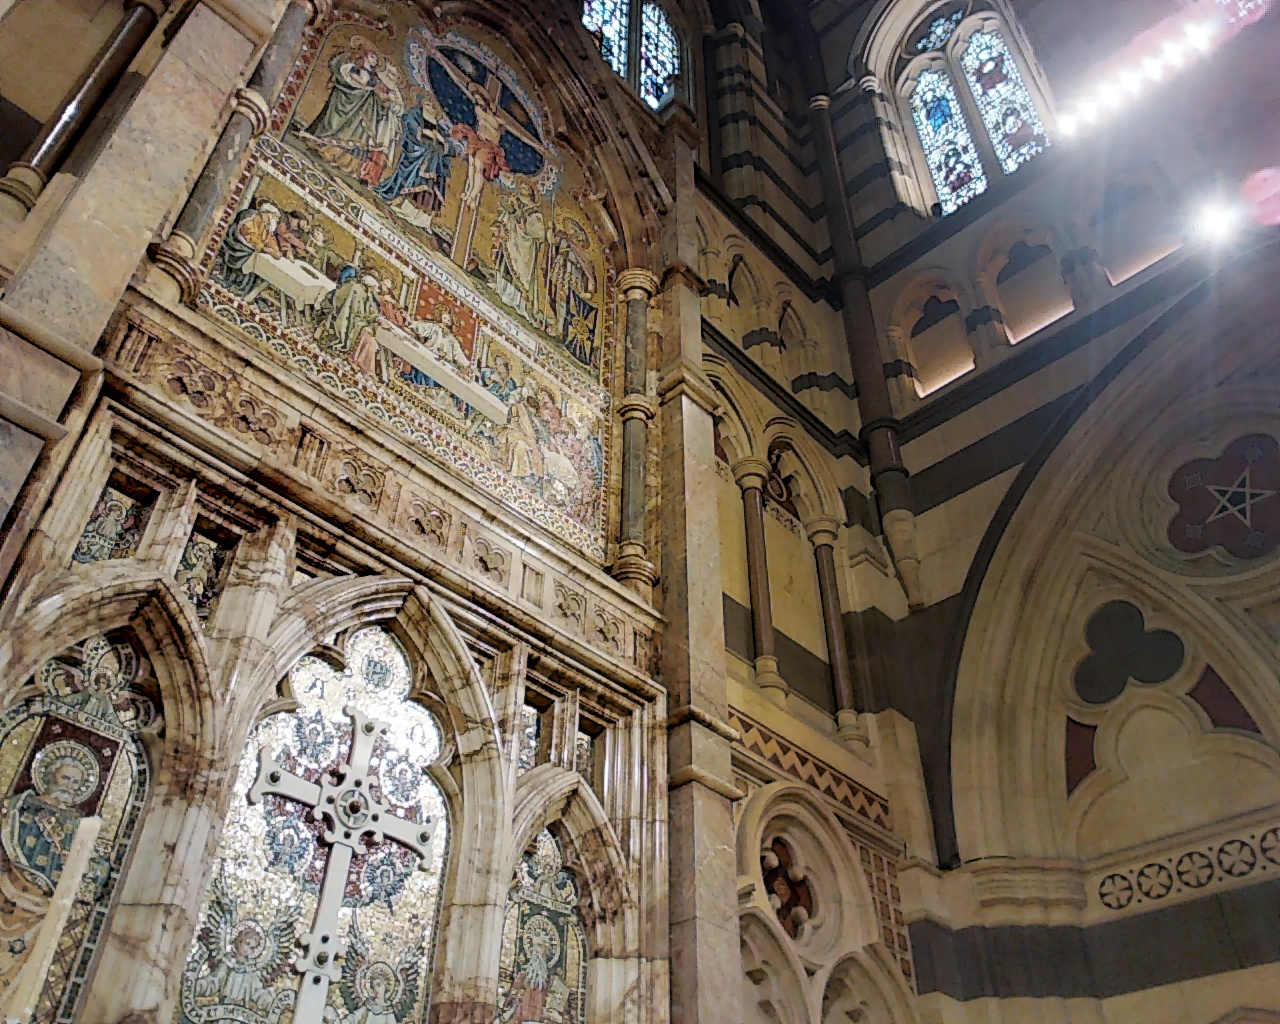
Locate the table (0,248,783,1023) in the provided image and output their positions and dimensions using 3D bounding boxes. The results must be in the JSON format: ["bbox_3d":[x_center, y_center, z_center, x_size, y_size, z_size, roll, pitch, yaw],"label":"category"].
[{"bbox_3d":[-1.109,2.001,4.100,0.710,4.862,4.589,-33,-52,30],"label":"table"}]
